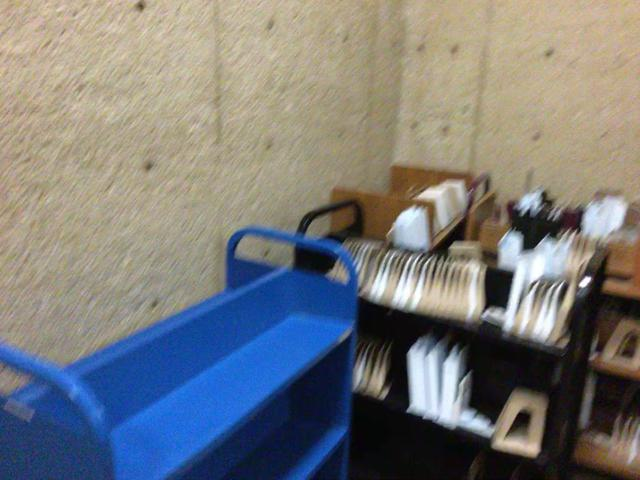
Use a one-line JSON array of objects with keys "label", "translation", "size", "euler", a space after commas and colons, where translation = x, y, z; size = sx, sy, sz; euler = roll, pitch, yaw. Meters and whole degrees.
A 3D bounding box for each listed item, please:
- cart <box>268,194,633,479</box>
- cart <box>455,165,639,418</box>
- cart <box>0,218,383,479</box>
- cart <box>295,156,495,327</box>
[{"label": "cart", "translation": [0.440, 0.470, 2.000], "size": [1.000, 1.080, 0.660], "euler": [8, 18, 28]}, {"label": "cart", "translation": [1.150, 0.180, 2.600], "size": [0.900, 0.920, 0.530], "euler": [8, 18, 28]}, {"label": "cart", "translation": [-0.300, 0.590, 1.460], "size": [0.530, 1.050, 1.050], "euler": [8, 18, 28]}, {"label": "cart", "translation": [0.400, -0.070, 2.650], "size": [0.510, 0.470, 1.120], "euler": [8, 18, 28]}]
